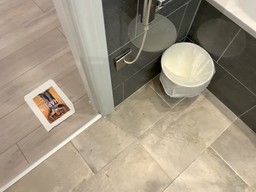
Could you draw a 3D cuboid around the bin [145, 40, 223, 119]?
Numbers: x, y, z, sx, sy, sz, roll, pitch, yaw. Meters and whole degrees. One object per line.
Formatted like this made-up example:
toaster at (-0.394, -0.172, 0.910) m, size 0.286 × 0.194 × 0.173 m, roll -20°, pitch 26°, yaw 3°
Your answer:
bin at (0.310, -0.090, 1.260) m, size 0.280 × 0.260 × 0.280 m, roll -37°, pitch 72°, yaw -16°
